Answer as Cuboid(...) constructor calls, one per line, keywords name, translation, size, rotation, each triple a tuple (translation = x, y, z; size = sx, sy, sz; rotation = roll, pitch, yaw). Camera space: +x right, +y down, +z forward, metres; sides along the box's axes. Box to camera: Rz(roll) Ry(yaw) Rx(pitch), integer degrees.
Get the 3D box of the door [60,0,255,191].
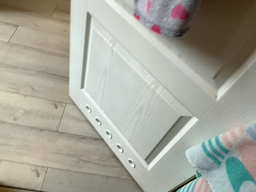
Cuboid(name="door", translation=(0.080, -0.270, 0.560), size=(0.090, 2.210, 0.930), rotation=(-25, 65, -31))
